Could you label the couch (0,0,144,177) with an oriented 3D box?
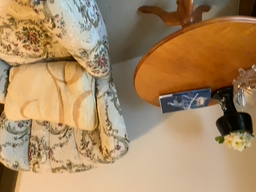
[{"bbox_3d":[-0.420,-0.150,1.060,0.740,0.870,0.820,-12,148,15],"label":"couch"}]
